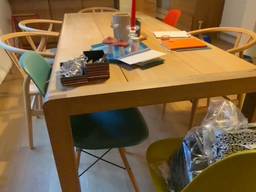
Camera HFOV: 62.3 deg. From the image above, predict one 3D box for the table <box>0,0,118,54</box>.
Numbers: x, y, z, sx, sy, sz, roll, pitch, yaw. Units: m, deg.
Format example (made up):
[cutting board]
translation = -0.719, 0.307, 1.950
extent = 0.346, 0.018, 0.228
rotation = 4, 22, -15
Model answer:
[table]
translation = -1.290, -1.520, 4.020
extent = 1.950, 0.920, 1.320
rotation = -7, 30, -12
